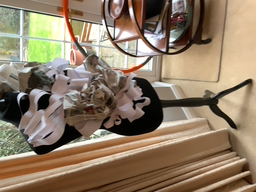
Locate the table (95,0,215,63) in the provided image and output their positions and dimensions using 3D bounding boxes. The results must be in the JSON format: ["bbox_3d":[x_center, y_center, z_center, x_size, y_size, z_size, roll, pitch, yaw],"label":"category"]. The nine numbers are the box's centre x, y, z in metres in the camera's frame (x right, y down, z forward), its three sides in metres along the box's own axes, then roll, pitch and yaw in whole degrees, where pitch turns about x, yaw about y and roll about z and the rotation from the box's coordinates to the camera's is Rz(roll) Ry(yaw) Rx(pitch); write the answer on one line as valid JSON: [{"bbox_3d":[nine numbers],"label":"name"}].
[{"bbox_3d":[0.210,-0.720,1.680,0.550,0.770,0.830,7,98,55],"label":"table"}]
